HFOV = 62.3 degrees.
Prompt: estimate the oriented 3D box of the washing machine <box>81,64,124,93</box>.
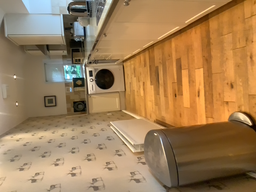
[{"bbox_3d":[-0.630,-0.410,5.020,0.690,0.890,0.610,-171,77,-75],"label":"washing machine"}]
